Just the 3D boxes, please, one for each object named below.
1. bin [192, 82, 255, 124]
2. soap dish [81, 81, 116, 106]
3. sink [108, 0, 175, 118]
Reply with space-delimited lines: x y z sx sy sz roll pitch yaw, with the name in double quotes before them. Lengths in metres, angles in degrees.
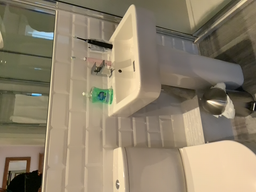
"bin" 0.620 0.060 1.360 0.240 0.300 0.190 144 128 -60
"soap dish" -0.170 -0.010 1.220 0.090 0.180 0.100 141 130 -59
"sink" 0.040 -0.200 1.220 0.420 0.170 0.560 142 129 -59
